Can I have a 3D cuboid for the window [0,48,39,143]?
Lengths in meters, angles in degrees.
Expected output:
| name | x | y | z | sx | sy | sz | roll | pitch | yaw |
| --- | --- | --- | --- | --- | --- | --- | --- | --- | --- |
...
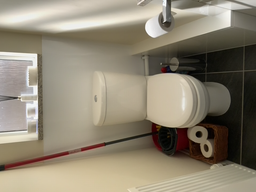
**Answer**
| name | x | y | z | sx | sy | sz | roll | pitch | yaw |
| --- | --- | --- | --- | --- | --- | --- | --- | --- | --- |
| window | -1.110 | 0.000 | 1.340 | 0.140 | 0.990 | 0.630 | 4 | 94 | 62 |
